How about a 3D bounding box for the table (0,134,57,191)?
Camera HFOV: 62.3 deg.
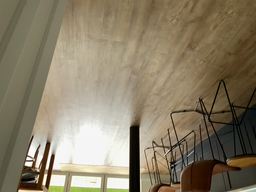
[{"bbox_3d":[-2.130,1.140,3.560,1.600,0.750,0.870,6,149,-9],"label":"table"}]
